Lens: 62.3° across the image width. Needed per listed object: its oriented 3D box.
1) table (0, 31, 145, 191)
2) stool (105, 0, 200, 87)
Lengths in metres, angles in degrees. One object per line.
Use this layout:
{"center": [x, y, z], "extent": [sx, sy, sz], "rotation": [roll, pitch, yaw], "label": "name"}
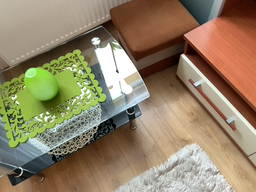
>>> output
{"center": [-0.340, 0.100, 1.090], "extent": [0.750, 0.430, 0.400], "rotation": [-27, 64, -10], "label": "table"}
{"center": [0.130, -0.360, 1.310], "extent": [0.390, 0.360, 0.380], "rotation": [-20, 63, -6], "label": "stool"}
